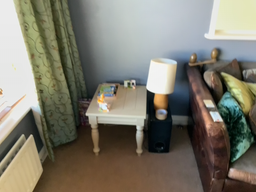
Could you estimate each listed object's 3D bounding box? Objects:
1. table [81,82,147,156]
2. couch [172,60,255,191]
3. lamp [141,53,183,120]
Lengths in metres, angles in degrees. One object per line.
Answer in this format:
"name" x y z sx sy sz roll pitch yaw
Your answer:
"table" -0.100 0.210 2.140 0.560 0.490 0.560 2 30 3
"couch" 1.520 0.270 1.780 2.090 0.760 1.050 2 30 3
"lamp" 0.290 -0.100 2.020 0.320 0.510 0.400 1 30 2
